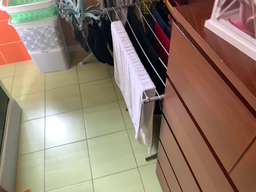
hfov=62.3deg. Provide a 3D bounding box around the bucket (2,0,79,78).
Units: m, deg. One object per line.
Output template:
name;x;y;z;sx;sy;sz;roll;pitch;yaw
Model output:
bucket;-0.810;-0.590;2.130;0.470;0.710;0.350;-8;49;-4
